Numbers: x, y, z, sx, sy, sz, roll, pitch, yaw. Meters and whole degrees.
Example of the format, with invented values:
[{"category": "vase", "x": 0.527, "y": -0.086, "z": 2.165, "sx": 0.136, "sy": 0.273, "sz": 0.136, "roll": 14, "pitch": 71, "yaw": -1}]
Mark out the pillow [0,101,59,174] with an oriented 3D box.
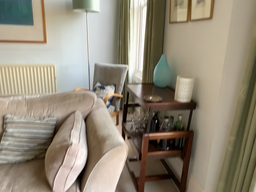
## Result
[{"category": "pillow", "x": -0.800, "y": 0.310, "z": 1.590, "sx": 0.380, "sy": 0.400, "sz": 0.120, "roll": -30, "pitch": 21, "yaw": -5}]
